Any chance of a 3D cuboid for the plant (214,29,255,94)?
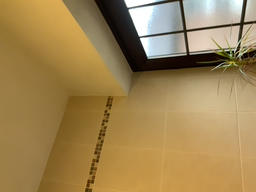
[{"bbox_3d":[0.760,-0.180,1.140,0.320,0.540,0.200,57,-142,-55],"label":"plant"}]
